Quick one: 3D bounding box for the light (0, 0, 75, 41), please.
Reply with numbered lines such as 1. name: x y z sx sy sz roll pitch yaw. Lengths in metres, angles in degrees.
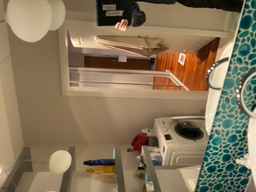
1. light: -0.260 -0.250 0.620 0.190 0.180 0.130 -105 18 -64
